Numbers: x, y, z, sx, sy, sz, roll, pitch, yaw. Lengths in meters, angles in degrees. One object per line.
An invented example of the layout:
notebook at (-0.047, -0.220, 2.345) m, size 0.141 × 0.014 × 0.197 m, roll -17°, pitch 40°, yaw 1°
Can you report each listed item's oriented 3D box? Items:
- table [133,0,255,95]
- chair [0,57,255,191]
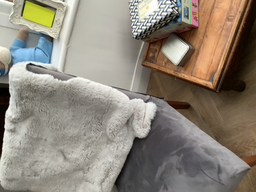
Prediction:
table at (0.300, -0.300, 0.950) m, size 0.460 × 0.230 × 0.460 m, roll 27°, pitch 108°, yaw 49°
chair at (0.000, 0.250, 0.830) m, size 0.630 × 0.790 × 0.480 m, roll 43°, pitch 119°, yaw 45°
